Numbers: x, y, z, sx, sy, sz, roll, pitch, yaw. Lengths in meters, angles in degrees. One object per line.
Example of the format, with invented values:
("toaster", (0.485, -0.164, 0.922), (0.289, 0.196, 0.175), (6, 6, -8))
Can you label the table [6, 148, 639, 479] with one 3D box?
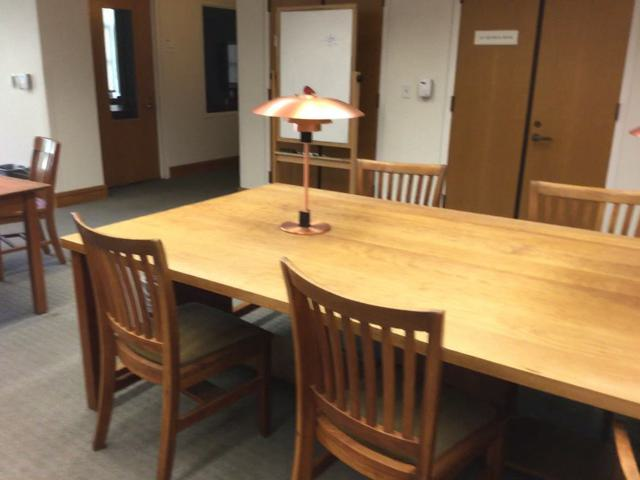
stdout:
("table", (0.480, 0.370, 2.110), (2.880, 0.950, 1.580), (13, 19, 31))

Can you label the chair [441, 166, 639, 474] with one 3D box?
("chair", (0.990, 0.250, 2.390), (0.660, 0.960, 0.670), (13, 19, 31))

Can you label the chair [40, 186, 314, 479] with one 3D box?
("chair", (-0.500, 0.340, 2.140), (0.670, 0.910, 0.640), (13, 19, 31))

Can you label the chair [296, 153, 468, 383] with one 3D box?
("chair", (0.310, 0.090, 2.930), (0.570, 0.940, 0.620), (13, 19, 31))

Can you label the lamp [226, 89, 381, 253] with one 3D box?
("lamp", (-0.070, -0.300, 2.280), (0.440, 0.550, 0.400), (13, 19, 31))

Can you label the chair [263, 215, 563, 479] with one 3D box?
("chair", (0.280, 0.480, 1.710), (0.540, 0.910, 0.740), (13, 19, 31))
